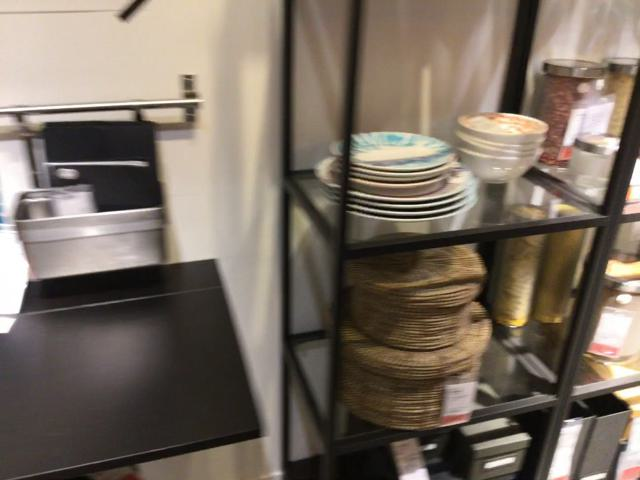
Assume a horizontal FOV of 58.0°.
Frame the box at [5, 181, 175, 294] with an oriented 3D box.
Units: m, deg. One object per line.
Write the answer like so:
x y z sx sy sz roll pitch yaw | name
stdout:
-0.400 -0.010 1.040 0.250 0.130 0.130 -8 28 -13 | box
